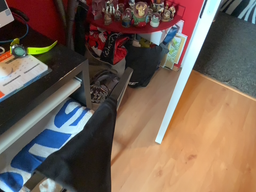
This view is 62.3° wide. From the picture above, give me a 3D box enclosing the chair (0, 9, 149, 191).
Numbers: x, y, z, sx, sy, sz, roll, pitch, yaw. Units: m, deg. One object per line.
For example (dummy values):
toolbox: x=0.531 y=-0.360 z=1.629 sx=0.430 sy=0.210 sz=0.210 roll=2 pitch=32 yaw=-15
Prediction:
chair: x=-0.270 y=0.190 z=0.890 sx=0.420 sy=0.840 sz=0.440 roll=29 pitch=53 yaw=17
